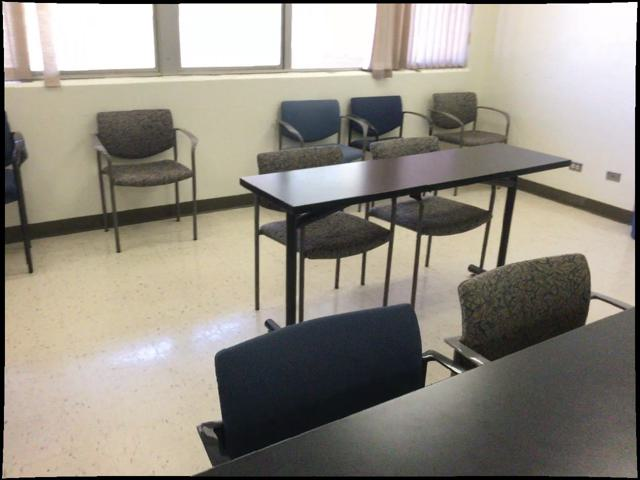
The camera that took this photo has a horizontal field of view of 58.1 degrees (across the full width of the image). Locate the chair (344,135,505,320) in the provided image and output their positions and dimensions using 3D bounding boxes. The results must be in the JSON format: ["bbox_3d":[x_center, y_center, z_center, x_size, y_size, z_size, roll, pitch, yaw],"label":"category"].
[{"bbox_3d":[0.519,-0.100,3.050,0.509,0.762,0.590,-12,25,-29],"label":"chair"}]

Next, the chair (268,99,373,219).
[{"bbox_3d":[-0.010,-0.602,4.130,0.549,0.702,0.510,-12,25,-29],"label":"chair"}]

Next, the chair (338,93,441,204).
[{"bbox_3d":[0.529,-0.732,4.490,0.589,0.722,0.470,-12,25,-29],"label":"chair"}]

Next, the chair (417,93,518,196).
[{"bbox_3d":[1.207,-0.812,4.790,0.519,0.712,0.530,-12,25,-29],"label":"chair"}]

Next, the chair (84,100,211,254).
[{"bbox_3d":[-1.037,-0.411,3.480,0.539,0.742,0.590,-12,25,-29],"label":"chair"}]

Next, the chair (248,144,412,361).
[{"bbox_3d":[0.020,0.020,2.780,0.499,0.802,0.620,-12,25,-29],"label":"chair"}]
